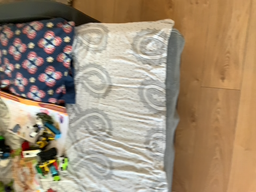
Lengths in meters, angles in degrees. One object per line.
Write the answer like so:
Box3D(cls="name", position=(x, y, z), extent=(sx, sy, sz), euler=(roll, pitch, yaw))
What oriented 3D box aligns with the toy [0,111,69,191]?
Box3D(cls="toy", position=(-0.650, 0.480, 1.120), extent=(0.630, 0.190, 0.730), euler=(9, 97, 23))
